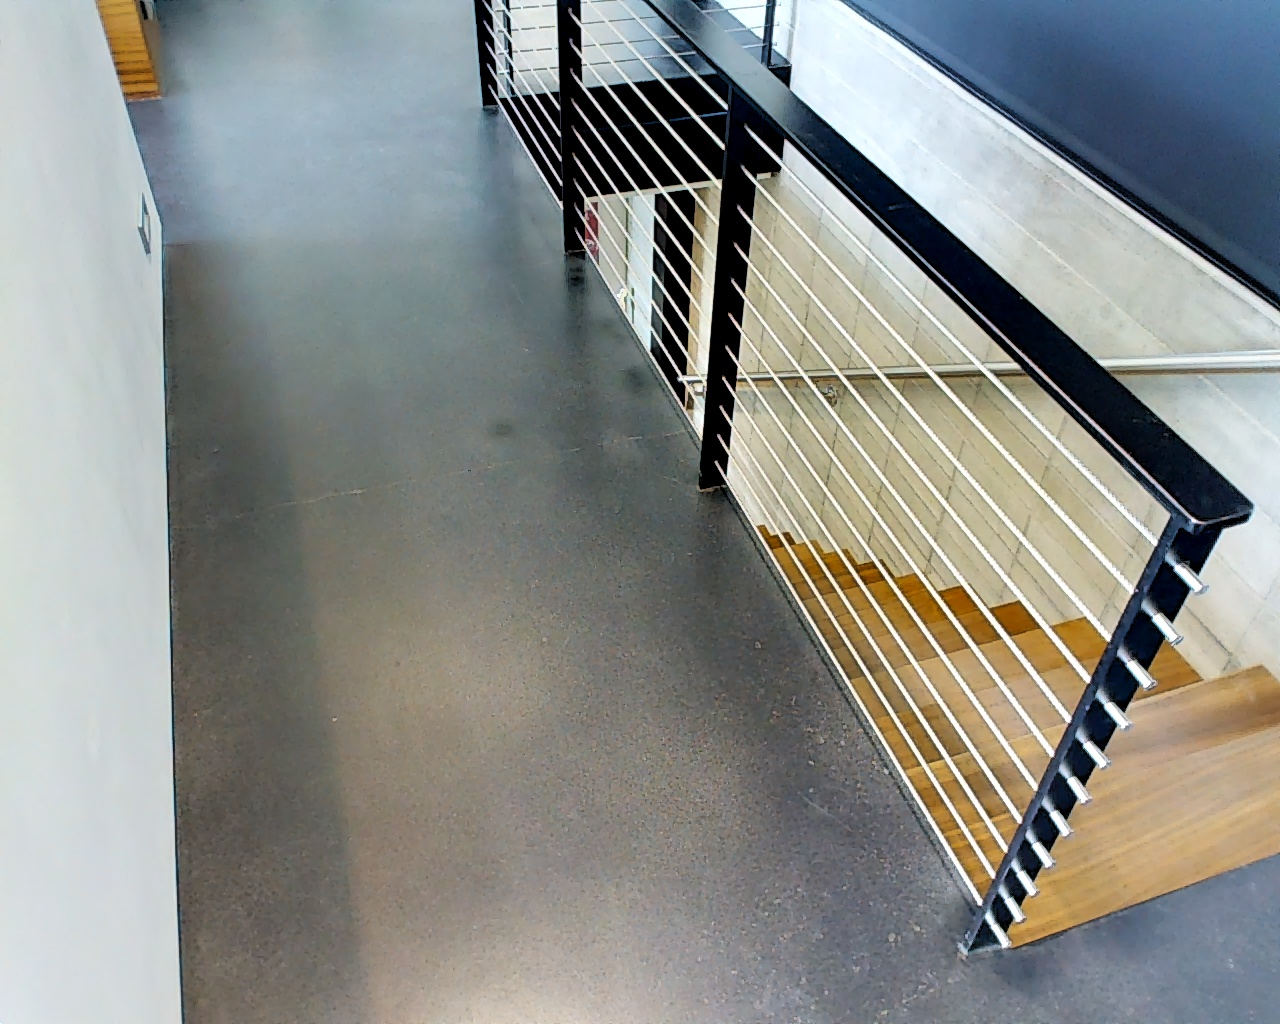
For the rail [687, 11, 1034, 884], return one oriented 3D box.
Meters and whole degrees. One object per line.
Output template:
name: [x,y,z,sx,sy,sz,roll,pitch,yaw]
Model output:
rail: [0.850,-0.310,4.660,0.130,3.690,0.740,-13,-10,-15]
